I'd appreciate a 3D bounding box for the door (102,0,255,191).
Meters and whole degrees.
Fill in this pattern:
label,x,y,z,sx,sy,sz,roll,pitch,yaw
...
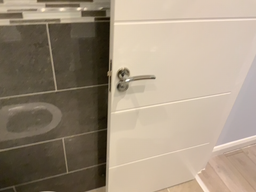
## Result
label,x,y,z,sx,sy,sz,roll,pitch,yaw
door,0.310,-0.130,0.960,0.840,2.030,0.050,-9,38,-20
